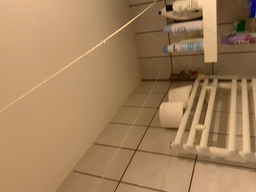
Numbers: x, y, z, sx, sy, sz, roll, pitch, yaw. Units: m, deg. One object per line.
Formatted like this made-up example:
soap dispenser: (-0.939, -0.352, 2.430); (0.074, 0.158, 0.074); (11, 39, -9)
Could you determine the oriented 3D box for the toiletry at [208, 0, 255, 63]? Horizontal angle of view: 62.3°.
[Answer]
toiletry: (0.470, -0.470, 0.860); (0.310, 0.250, 0.580); (-55, -42, -49)
